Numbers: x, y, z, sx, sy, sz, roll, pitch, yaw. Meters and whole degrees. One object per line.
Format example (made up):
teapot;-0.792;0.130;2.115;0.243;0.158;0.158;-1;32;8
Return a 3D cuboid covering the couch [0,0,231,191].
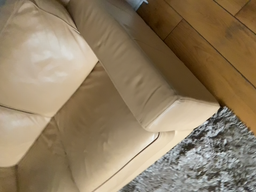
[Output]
couch;-0.470;0.190;1.310;1.570;0.840;1.020;-46;61;25
